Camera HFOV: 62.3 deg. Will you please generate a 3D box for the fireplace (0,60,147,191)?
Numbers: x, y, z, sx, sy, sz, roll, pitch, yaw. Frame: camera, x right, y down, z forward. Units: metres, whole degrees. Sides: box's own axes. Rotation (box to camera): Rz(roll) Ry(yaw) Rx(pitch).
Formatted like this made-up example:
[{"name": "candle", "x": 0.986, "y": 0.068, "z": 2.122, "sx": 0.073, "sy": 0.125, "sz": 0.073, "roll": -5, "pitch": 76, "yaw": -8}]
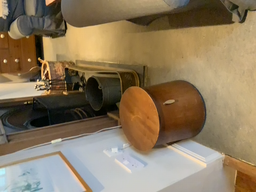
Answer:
[{"name": "fireplace", "x": -0.710, "y": 0.050, "z": 1.870, "sx": 1.340, "sy": 1.150, "sz": 0.670, "roll": 15, "pitch": 109, "yaw": 53}]
